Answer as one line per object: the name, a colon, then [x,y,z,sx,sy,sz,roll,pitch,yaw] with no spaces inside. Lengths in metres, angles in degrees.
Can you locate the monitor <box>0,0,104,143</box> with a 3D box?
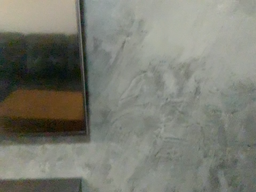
monitor: [-0.650,-0.140,0.630,1.140,0.650,0.030,0,22,-4]
